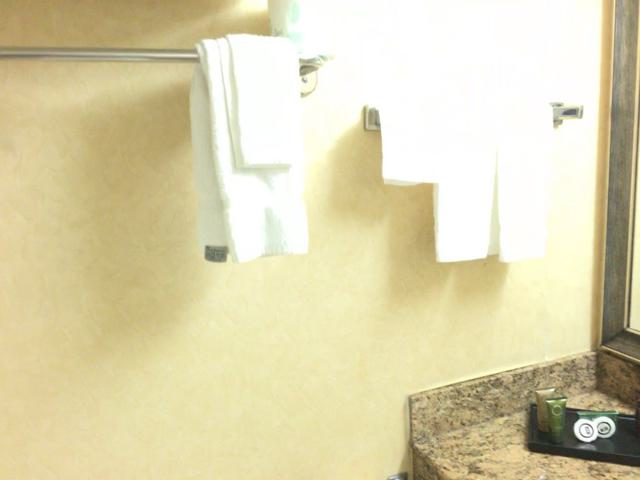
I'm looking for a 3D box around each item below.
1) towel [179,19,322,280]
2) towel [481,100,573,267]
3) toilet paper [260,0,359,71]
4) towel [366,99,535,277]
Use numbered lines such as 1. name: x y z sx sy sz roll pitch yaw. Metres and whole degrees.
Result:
1. towel: -0.110 -0.140 0.920 0.180 0.370 0.130 -6 10 -21
2. towel: 0.430 -0.120 1.210 0.160 0.330 0.080 -6 10 -21
3. toilet paper: -0.020 -0.360 0.950 0.120 0.140 0.130 -6 10 -21
4. towel: 0.260 -0.110 1.140 0.330 0.320 0.080 -6 10 -21
